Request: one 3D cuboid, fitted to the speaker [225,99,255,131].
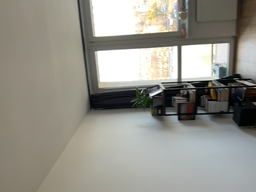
[{"bbox_3d":[1.350,0.220,2.490,0.270,0.290,0.290,-89,-5,-76],"label":"speaker"}]
